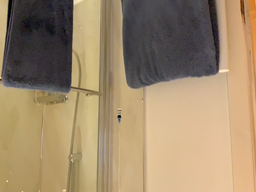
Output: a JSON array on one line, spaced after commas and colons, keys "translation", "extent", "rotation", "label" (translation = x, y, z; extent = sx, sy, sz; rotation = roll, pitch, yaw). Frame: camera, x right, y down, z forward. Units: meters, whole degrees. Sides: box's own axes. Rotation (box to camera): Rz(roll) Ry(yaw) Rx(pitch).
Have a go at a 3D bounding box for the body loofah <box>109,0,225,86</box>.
[{"translation": [0.130, -0.310, 0.890], "extent": [0.470, 0.480, 0.090], "rotation": [-6, -9, 35], "label": "body loofah"}]
